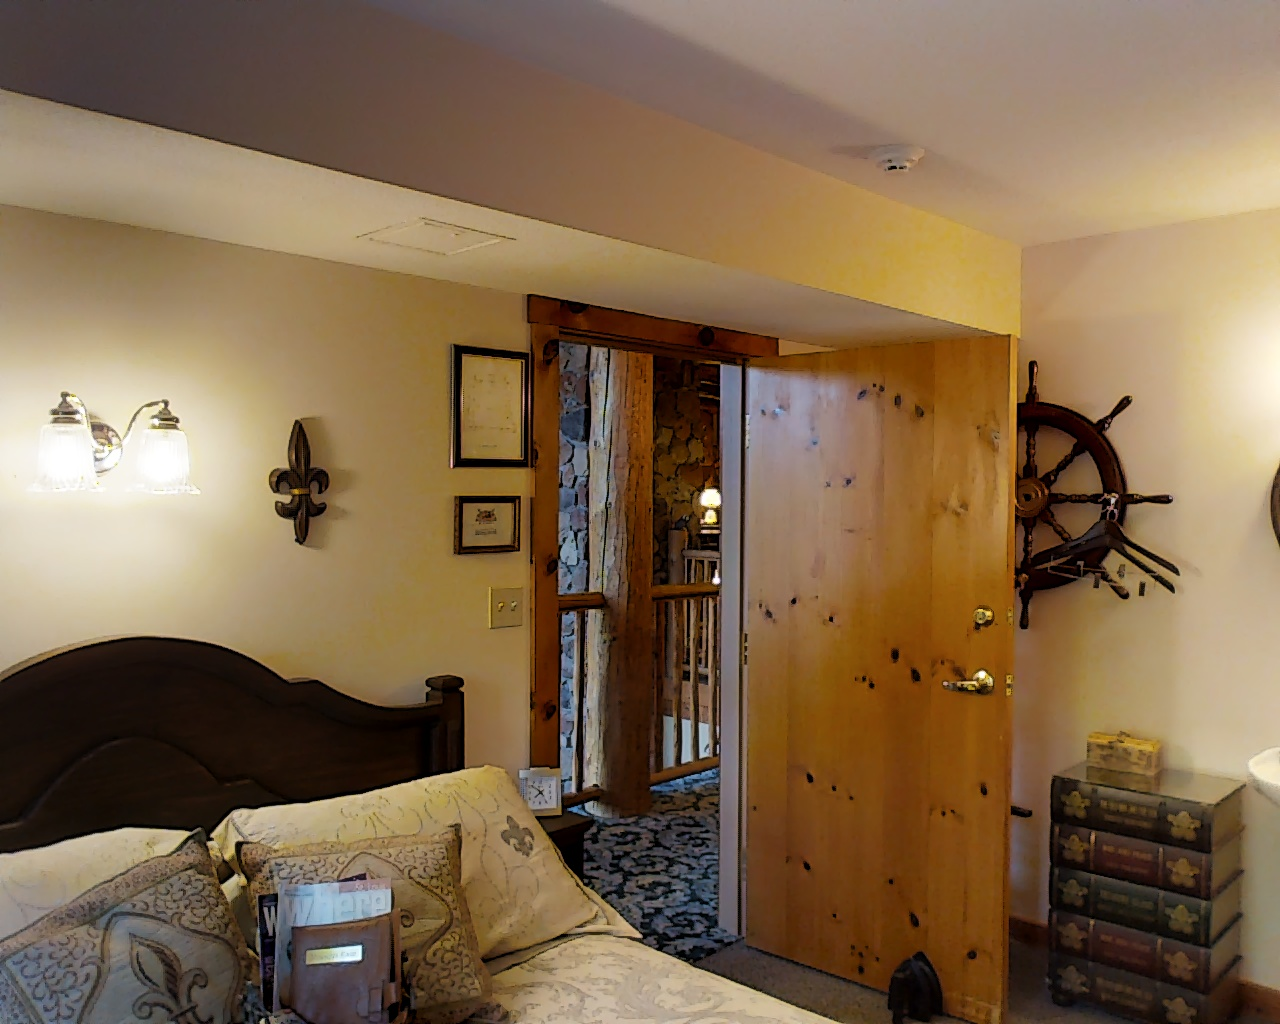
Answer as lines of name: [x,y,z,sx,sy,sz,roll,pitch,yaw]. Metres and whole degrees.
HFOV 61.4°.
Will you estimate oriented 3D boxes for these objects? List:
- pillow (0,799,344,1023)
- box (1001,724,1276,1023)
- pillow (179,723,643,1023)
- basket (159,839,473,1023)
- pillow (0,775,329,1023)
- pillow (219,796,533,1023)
pillow: [-0.710,0.660,1.550,0.360,0.160,0.430,-48,-13,26]
box: [1.520,1.110,3.300,0.630,0.740,0.480,2,3,44]
pillow: [-0.430,0.680,2.110,0.520,0.330,0.720,2,3,43]
basket: [-0.480,0.680,1.590,0.370,0.240,0.290,2,3,41]
pillow: [-0.890,0.650,1.610,0.430,0.290,0.690,2,3,43]
pillow: [-0.460,0.690,1.840,0.450,0.250,0.370,-1,3,-26]
